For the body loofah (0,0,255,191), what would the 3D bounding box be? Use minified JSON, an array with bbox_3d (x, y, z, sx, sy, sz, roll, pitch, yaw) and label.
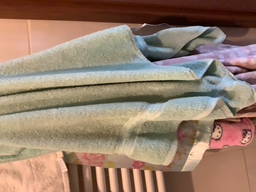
[{"bbox_3d":[0.160,-0.040,0.610,0.200,1.410,0.420,160,104,-71],"label":"body loofah"}]
